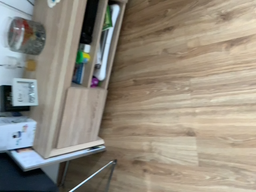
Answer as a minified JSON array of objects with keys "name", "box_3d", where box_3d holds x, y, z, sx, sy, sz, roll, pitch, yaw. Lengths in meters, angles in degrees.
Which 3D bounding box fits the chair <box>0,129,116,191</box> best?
[{"name":"chair","box_3d":[-0.590,0.610,1.340,0.450,0.860,0.570,25,104,34]}]

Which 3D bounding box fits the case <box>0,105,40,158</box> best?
[{"name":"case","box_3d":[-0.700,0.190,1.220,0.260,0.230,0.210,19,100,35]}]
